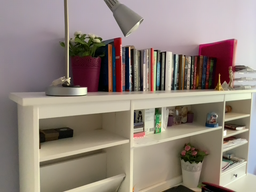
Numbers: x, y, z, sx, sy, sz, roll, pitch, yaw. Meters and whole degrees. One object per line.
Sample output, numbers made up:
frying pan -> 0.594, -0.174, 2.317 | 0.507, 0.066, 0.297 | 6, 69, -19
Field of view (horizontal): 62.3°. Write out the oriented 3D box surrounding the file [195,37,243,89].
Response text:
file -> 0.620, -0.220, 1.470 | 0.100, 0.320, 0.280 | -3, 7, -39

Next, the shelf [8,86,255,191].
shelf -> 0.220, 0.270, 1.200 | 1.520, 0.620, 0.290 | -3, 6, -38

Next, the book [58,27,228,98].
book -> 0.160, -0.150, 1.160 | 1.000, 0.250, 0.260 | -3, 6, -37
